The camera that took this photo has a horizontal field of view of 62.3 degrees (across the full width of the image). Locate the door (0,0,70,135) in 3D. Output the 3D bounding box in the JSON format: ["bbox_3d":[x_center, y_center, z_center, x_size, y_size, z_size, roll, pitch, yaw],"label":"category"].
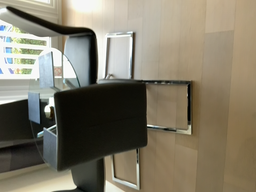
[{"bbox_3d":[-1.610,-0.500,2.290,0.070,2.090,1.920,7,98,46],"label":"door"}]
